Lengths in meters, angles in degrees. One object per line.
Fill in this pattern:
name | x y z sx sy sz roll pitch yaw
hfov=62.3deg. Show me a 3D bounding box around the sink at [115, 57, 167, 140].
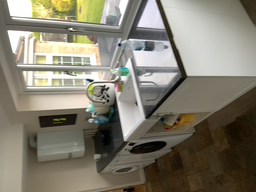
sink | 0.090 0.050 2.180 0.620 0.210 0.630 122 142 -56
